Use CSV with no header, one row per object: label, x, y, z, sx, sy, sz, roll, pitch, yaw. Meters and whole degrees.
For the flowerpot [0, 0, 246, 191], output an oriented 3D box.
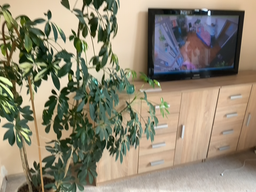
flowerpot,-0.290,0.120,1.440,1.310,1.780,1.050,-5,21,-15
